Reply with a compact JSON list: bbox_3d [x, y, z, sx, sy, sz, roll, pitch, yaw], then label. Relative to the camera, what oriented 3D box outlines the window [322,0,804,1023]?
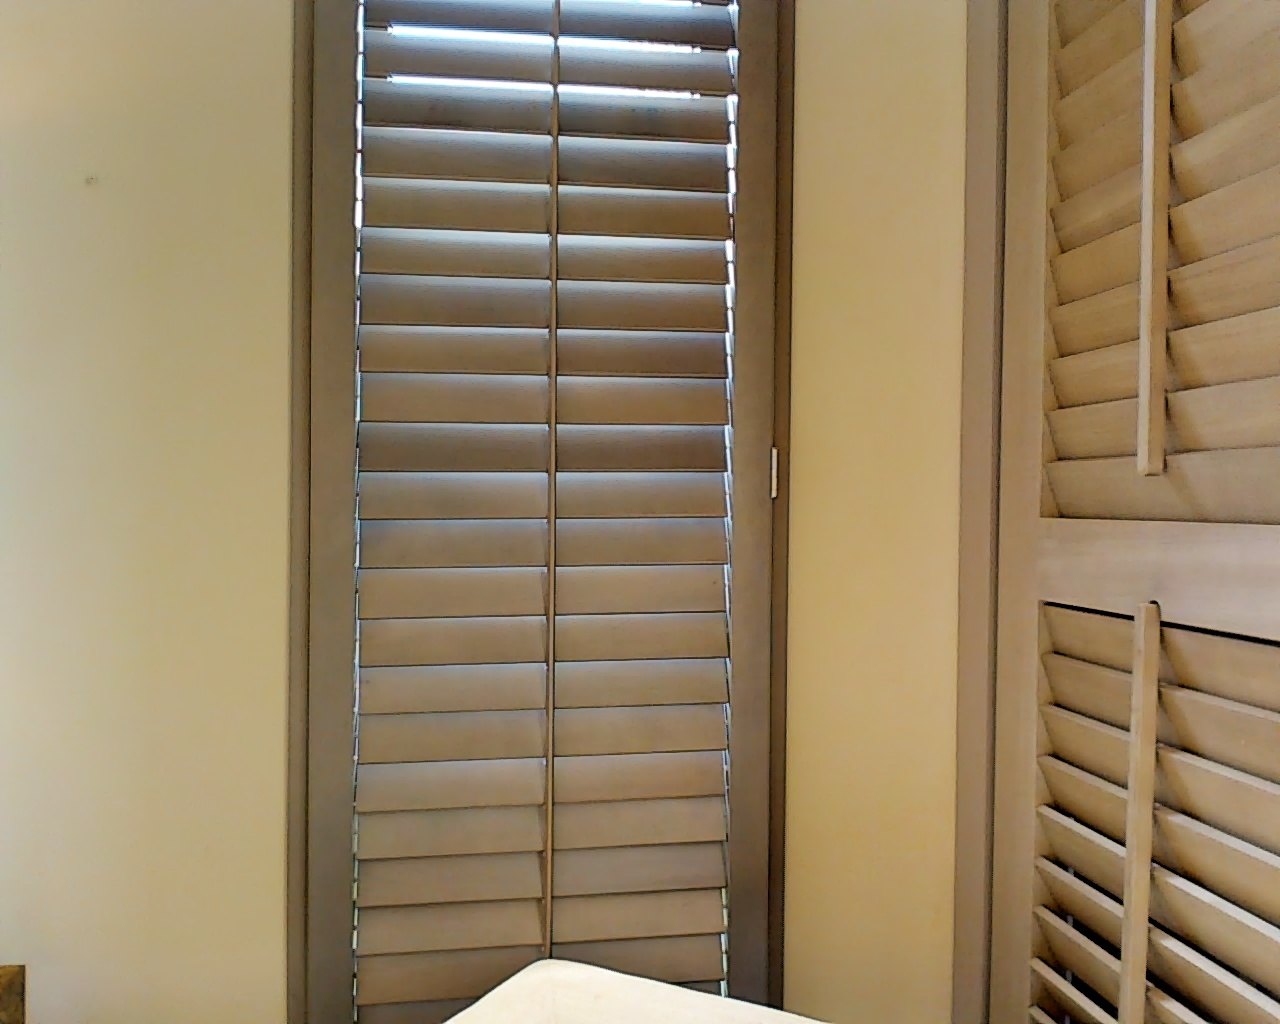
[{"bbox_3d":[-0.100,-0.030,1.450,0.620,2.410,0.090,0,1,-9],"label":"window"}]
